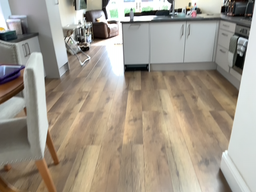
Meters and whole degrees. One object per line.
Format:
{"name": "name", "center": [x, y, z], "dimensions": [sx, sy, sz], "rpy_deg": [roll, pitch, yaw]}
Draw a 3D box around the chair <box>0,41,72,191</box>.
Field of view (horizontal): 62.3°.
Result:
{"name": "chair", "center": [-0.760, 0.190, 1.340], "dimensions": [0.600, 0.950, 0.440], "rpy_deg": [-5, 25, -6]}
